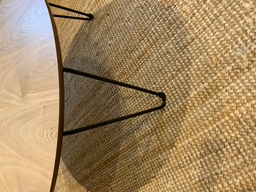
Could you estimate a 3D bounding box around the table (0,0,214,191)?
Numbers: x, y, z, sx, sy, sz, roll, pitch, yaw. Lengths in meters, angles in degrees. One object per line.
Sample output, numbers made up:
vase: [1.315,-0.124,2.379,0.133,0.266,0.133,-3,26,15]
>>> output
table: [-0.300,0.040,0.810,0.810,0.360,0.800,-43,59,35]
